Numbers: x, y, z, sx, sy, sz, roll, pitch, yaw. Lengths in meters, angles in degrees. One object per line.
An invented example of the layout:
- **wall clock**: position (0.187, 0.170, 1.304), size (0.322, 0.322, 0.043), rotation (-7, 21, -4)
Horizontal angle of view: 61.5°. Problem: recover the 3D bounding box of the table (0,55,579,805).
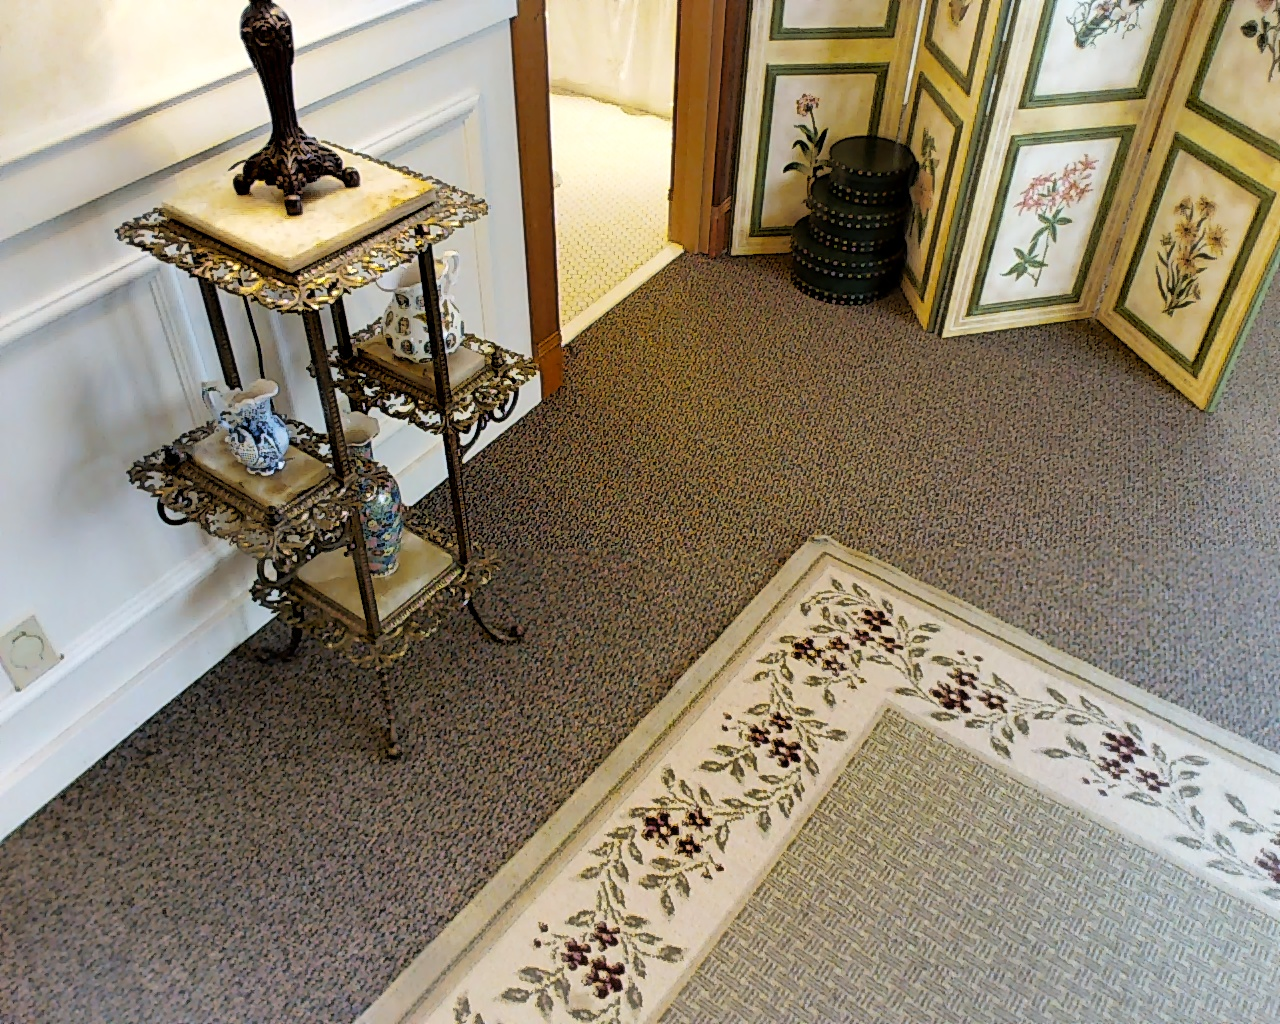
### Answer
- **table**: position (-0.470, -0.120, 1.750), size (0.430, 0.940, 0.640), rotation (25, 48, 23)
